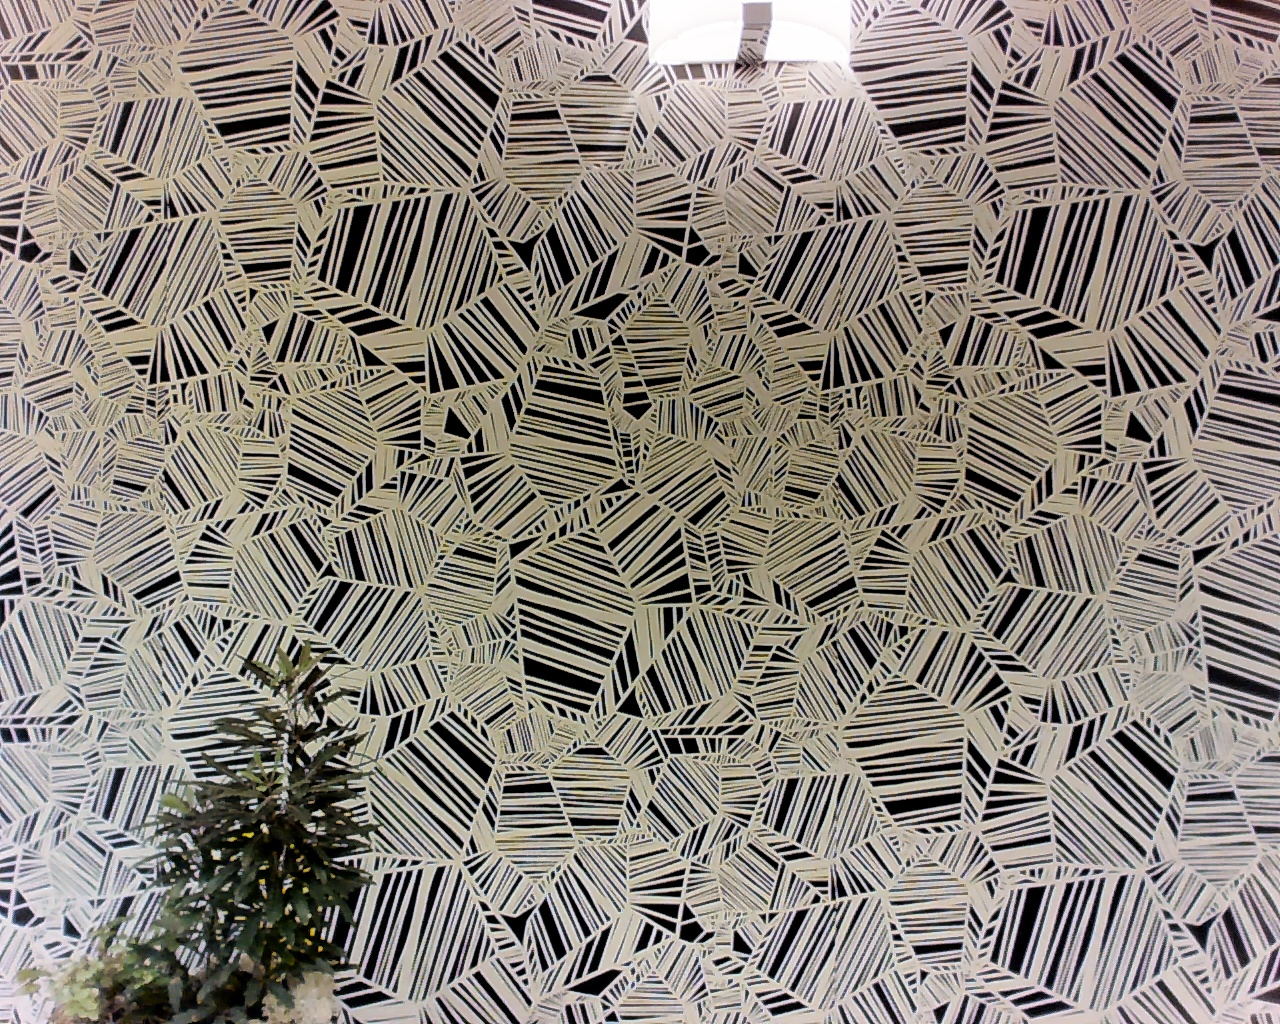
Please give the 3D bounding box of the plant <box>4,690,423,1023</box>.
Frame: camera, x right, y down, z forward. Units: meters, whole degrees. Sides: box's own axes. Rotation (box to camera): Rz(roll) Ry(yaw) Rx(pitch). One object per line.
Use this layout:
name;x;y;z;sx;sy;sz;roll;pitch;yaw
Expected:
plant;-0.340;0.370;0.910;0.270;0.400;0.220;1;0;-2
